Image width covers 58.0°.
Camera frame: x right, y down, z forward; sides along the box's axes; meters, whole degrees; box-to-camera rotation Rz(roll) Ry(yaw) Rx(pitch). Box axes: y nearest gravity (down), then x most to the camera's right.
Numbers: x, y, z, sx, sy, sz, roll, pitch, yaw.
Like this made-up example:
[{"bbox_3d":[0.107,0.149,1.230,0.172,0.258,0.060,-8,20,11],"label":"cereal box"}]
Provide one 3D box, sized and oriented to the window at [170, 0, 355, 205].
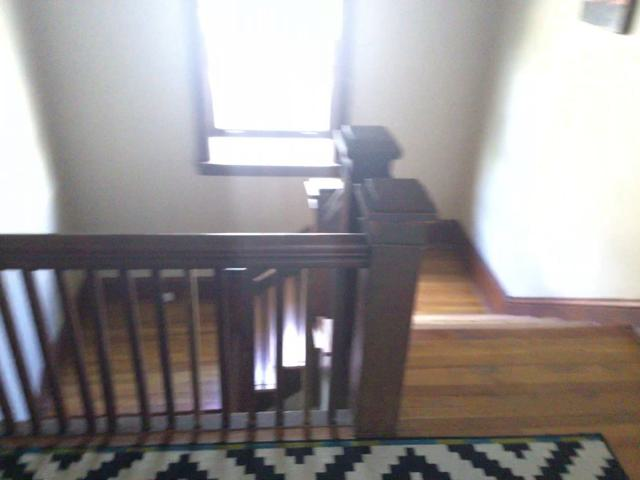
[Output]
[{"bbox_3d":[-0.360,-1.160,3.910,1.100,1.730,0.400,-5,24,-5],"label":"window"}]
